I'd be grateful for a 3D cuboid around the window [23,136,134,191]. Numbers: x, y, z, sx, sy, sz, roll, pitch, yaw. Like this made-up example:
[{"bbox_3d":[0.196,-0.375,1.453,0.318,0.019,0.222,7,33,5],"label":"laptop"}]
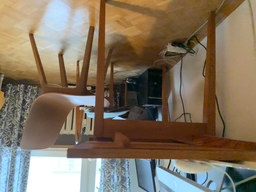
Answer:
[{"bbox_3d":[-0.650,1.440,2.780,1.390,1.760,0.160,3,169,-6],"label":"window"}]
